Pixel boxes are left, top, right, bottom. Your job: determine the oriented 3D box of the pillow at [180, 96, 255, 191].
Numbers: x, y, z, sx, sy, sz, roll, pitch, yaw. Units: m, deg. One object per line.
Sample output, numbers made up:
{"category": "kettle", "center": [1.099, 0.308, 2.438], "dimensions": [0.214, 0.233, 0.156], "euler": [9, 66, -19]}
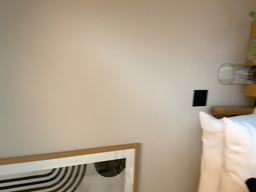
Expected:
{"category": "pillow", "center": [0.490, 0.390, 1.100], "dimensions": [0.170, 0.370, 0.750], "euler": [-151, 62, -65]}
